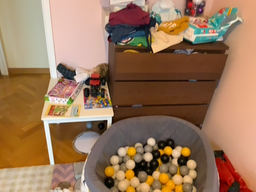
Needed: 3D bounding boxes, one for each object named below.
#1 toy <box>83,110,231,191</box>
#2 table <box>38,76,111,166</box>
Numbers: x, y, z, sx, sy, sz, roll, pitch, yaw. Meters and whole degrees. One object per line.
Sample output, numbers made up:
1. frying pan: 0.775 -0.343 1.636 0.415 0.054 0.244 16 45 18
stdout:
1. toy: 0.130 0.550 1.460 0.800 0.440 0.880 3 32 -7
2. table: -0.440 0.190 1.870 0.500 0.490 0.610 0 33 -11
